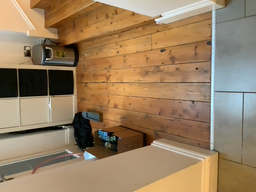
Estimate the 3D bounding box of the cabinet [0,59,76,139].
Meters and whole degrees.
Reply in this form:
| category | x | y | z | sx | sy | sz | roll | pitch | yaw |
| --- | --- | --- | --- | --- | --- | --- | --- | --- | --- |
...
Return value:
| category | x | y | z | sx | sy | sz | roll | pitch | yaw |
| --- | --- | --- | --- | --- | --- | --- | --- | --- | --- |
| cabinet | -1.460 | 0.010 | 2.650 | 0.470 | 1.490 | 0.900 | 6 | 98 | 50 |

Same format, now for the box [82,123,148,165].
| category | x | y | z | sx | sy | sz | roll | pitch | yaw |
| --- | --- | --- | --- | --- | --- | --- | --- | --- | --- |
| box | -0.130 | 0.410 | 1.950 | 0.460 | 0.400 | 0.230 | -1 | 93 | 50 |

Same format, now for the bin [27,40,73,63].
| category | x | y | z | sx | sy | sz | roll | pitch | yaw |
| --- | --- | --- | --- | --- | --- | --- | --- | --- | --- |
| bin | -1.060 | -0.580 | 2.870 | 0.470 | 0.450 | 0.240 | 8 | 100 | 49 |
